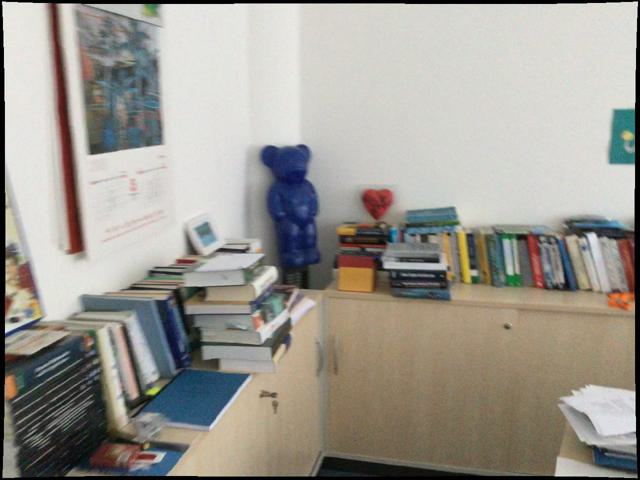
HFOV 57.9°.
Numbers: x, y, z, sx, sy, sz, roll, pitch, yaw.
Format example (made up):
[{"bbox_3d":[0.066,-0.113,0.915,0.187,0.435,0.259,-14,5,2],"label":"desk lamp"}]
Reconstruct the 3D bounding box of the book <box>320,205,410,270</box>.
[{"bbox_3d":[0.210,-0.020,2.670,0.380,0.230,0.240,3,15,12],"label":"book"}]

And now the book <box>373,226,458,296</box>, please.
[{"bbox_3d":[0.410,0.080,2.450,0.330,0.200,0.290,3,15,12],"label":"book"}]

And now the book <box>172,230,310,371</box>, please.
[{"bbox_3d":[-0.230,0.170,1.830,0.310,0.310,0.370,4,15,13],"label":"book"}]

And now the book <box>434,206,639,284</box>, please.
[{"bbox_3d":[0.939,0.010,2.500,0.859,0.240,0.230,3,15,12],"label":"book"}]

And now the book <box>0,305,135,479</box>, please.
[{"bbox_3d":[-0.619,0.340,1.220,0.280,0.280,0.350,3,15,12],"label":"book"}]

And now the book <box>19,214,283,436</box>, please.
[{"bbox_3d":[-0.430,0.170,1.940,0.270,0.260,1.260,3,15,12],"label":"book"}]
